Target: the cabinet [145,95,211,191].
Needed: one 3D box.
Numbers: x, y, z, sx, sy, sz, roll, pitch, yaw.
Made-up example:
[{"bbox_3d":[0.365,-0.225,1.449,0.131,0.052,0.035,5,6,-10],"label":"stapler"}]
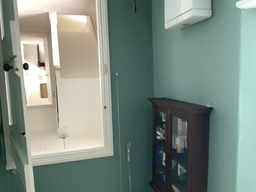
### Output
[{"bbox_3d":[0.350,0.450,1.660,0.190,0.850,0.690,-4,-173,-14],"label":"cabinet"}]
